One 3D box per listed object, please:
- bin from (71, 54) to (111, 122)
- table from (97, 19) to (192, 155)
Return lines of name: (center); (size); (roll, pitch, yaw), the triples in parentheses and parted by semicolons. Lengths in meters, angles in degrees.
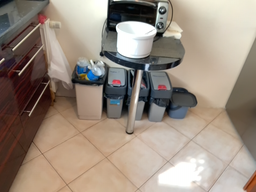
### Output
bin: (-0.300, -0.060, 1.790); (0.270, 0.480, 0.290); (4, 36, -4)
table: (0.060, -0.070, 1.580); (0.490, 0.770, 0.610); (5, 36, -3)
